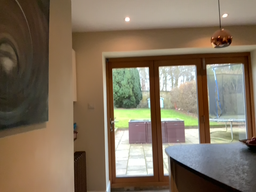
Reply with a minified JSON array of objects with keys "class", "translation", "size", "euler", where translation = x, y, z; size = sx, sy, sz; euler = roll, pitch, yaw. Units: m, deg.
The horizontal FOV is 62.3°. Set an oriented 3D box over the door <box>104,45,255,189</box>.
[{"class":"door","translation":[0.850,0.350,3.480],"size":[2.410,2.210,0.220],"euler":[-2,-2,3]}]
